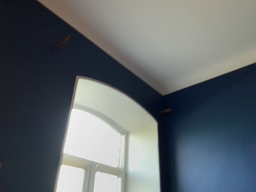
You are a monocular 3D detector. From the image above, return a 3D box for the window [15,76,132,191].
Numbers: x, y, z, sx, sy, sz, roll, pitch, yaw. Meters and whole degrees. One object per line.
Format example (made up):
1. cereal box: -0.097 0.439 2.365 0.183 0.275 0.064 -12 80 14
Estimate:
1. window: -0.540 1.130 2.490 0.320 2.400 1.410 -22 -38 35
